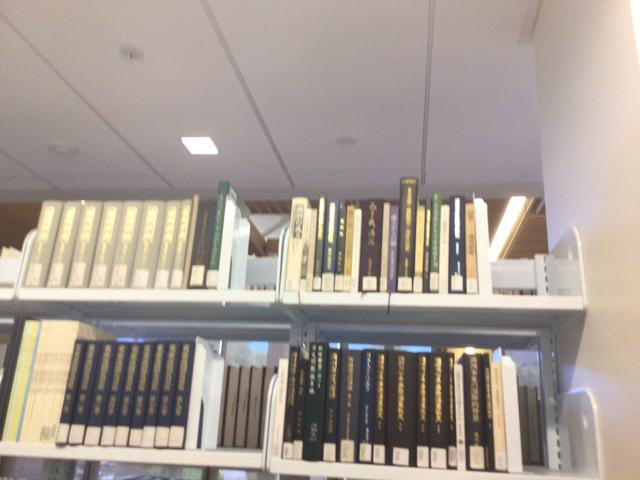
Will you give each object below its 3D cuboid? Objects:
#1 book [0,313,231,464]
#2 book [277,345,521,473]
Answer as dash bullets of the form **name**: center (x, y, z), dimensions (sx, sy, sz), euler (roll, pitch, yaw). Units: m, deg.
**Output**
- **book**: center (-0.440, 0.320, 1.250), dimensions (0.430, 0.270, 0.170), euler (2, -20, 7)
- **book**: center (0.150, 0.330, 1.140), dimensions (0.440, 0.210, 0.110), euler (1, -20, 6)
